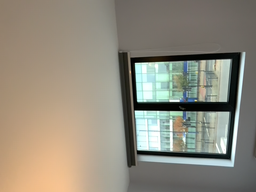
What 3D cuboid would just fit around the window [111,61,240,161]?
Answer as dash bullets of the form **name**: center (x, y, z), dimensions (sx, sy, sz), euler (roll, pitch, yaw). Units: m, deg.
- **window**: center (0.630, 0.240, 3.090), dimensions (0.120, 1.660, 1.460), euler (-62, -30, -66)
